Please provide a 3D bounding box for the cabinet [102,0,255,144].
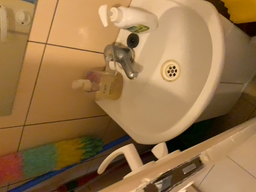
[{"bbox_3d":[0.320,-0.100,0.920,0.230,0.780,0.410,41,117,32],"label":"cabinet"}]
